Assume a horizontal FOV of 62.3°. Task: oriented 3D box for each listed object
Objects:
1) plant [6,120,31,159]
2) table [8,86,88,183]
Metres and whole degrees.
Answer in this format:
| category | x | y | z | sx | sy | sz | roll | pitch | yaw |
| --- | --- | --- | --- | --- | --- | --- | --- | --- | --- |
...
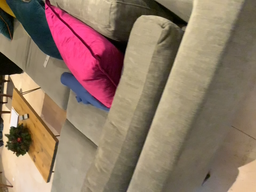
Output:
| category | x | y | z | sx | sy | sz | roll | pitch | yaw |
| --- | --- | --- | --- | --- | --- | --- | --- | --- | --- |
| plant | -1.210 | 0.470 | 2.330 | 0.310 | 0.130 | 0.270 | 37 | 117 | 35 |
| table | -0.970 | 0.360 | 2.430 | 1.100 | 0.360 | 0.510 | 35 | 116 | 36 |
